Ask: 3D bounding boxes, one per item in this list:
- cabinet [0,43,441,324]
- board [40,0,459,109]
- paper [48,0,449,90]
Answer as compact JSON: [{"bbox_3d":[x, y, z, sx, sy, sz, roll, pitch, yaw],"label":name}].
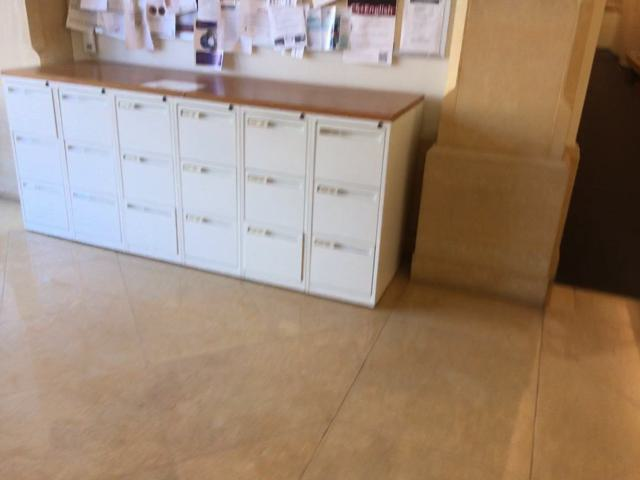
[{"bbox_3d":[-0.650,-0.430,3.300,2.400,1.030,0.740,12,22,15],"label":"cabinet"},{"bbox_3d":[-0.470,-1.510,3.150,2.440,1.210,0.200,12,22,15],"label":"board"},{"bbox_3d":[-0.470,-1.550,3.140,2.360,1.120,0.150,12,22,15],"label":"paper"}]
